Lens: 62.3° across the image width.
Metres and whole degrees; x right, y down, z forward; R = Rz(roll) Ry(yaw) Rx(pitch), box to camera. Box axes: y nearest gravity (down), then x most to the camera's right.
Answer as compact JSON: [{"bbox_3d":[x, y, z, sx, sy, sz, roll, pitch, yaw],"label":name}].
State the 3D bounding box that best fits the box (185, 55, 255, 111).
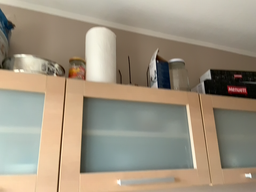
[{"bbox_3d":[0.560,-0.060,1.240,0.350,0.220,0.230,5,-19,-20],"label":"box"}]
